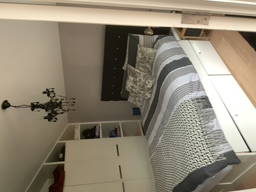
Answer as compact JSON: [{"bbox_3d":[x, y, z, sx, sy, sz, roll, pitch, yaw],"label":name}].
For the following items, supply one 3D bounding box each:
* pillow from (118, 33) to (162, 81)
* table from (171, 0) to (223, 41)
[{"bbox_3d":[0.180,-0.520,2.910,0.170,0.420,0.490,41,-179,41],"label":"pillow"},{"bbox_3d":[0.890,-1.010,2.810,0.390,0.460,0.360,102,162,-46],"label":"table"}]
